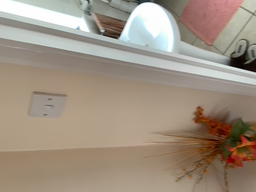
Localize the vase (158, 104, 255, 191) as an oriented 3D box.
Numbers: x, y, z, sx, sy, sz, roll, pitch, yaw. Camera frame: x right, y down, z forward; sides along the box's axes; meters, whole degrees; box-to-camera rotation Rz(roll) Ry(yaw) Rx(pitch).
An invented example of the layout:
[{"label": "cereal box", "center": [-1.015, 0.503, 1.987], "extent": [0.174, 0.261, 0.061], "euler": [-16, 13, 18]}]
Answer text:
[{"label": "vase", "center": [0.590, 0.230, 1.030], "extent": [0.240, 0.870, 0.230], "euler": [58, 133, 45]}]
